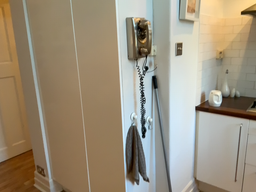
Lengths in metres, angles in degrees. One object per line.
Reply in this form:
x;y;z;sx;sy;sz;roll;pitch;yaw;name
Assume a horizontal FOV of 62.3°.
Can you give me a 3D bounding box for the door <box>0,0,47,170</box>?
-1.670;-0.170;2.660;0.160;2.250;0.970;10;19;40;door
